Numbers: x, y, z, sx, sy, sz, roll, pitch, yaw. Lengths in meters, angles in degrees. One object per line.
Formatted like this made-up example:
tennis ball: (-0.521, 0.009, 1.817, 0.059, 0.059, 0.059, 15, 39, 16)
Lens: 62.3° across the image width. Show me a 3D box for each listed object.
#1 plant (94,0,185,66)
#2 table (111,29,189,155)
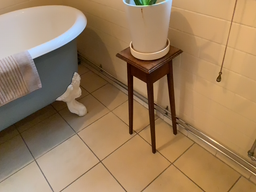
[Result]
plant: (0.050, -0.370, 0.930, 0.240, 0.320, 0.300, -36, 49, -29)
table: (0.130, 0.000, 1.200, 0.250, 0.630, 0.260, -34, 48, -27)
